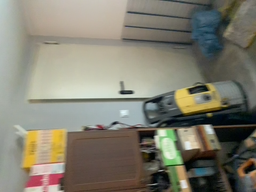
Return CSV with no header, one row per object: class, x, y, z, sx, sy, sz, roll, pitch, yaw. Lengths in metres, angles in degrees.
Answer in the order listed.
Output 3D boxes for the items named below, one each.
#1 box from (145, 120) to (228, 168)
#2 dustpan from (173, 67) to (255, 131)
box,0.480,0.420,1.850,0.370,0.540,0.280,110,156,-58
dustpan,0.890,0.050,2.190,0.420,0.770,0.400,71,-168,-58
